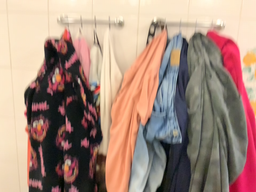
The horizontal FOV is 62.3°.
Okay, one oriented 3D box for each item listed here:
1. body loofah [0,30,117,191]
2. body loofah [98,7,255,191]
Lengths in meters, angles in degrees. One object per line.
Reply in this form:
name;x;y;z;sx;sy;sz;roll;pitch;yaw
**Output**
body loofah;-0.290;0.260;0.890;0.420;1.000;0.280;4;13;5
body loofah;0.230;0.240;0.790;0.610;1.000;0.340;4;13;7
